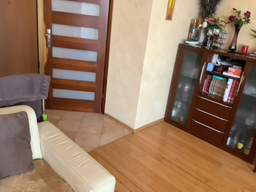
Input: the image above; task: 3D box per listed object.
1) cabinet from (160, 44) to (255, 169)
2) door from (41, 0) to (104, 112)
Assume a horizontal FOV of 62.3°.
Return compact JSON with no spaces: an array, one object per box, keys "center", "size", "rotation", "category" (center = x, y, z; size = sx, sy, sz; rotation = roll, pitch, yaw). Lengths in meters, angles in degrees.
[{"center":[1.200,0.030,2.820],"size":[0.480,1.180,1.340],"rotation":[-13,29,-44],"category":"cabinet"},{"center":[-0.770,-0.780,2.930],"size":[0.780,2.080,0.130],"rotation":[6,21,-5],"category":"door"}]
